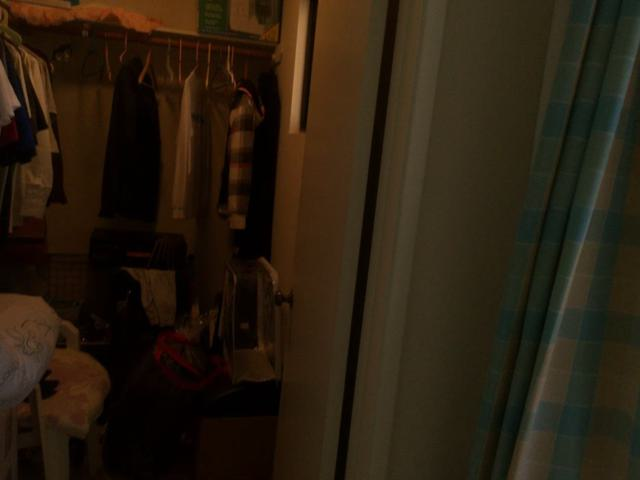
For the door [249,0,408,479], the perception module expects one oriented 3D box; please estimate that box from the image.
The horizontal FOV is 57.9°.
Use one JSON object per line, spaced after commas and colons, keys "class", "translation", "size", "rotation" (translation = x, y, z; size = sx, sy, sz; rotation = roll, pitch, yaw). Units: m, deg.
{"class": "door", "translation": [-0.040, 0.220, 1.560], "size": [0.120, 1.830, 0.740], "rotation": [2, 8, -15]}
